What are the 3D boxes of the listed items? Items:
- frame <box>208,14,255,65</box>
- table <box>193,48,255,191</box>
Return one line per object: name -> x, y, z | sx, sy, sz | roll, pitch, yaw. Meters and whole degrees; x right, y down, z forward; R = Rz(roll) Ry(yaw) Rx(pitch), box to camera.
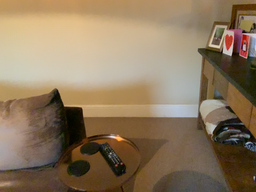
frame -> 0.860, -0.470, 1.720 | 0.300, 0.330, 0.440 | 1, 23, 10
table -> 0.820, 0.240, 1.440 | 0.460, 0.840, 1.520 | 1, 23, 9
